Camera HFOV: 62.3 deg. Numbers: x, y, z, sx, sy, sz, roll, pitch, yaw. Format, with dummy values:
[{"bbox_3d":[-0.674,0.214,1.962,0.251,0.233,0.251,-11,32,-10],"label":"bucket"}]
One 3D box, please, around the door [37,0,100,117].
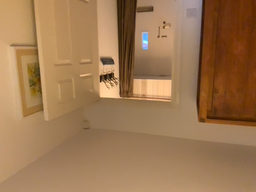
[{"bbox_3d":[-0.480,-0.860,1.830,0.060,1.930,0.800,4,-168,19],"label":"door"}]
